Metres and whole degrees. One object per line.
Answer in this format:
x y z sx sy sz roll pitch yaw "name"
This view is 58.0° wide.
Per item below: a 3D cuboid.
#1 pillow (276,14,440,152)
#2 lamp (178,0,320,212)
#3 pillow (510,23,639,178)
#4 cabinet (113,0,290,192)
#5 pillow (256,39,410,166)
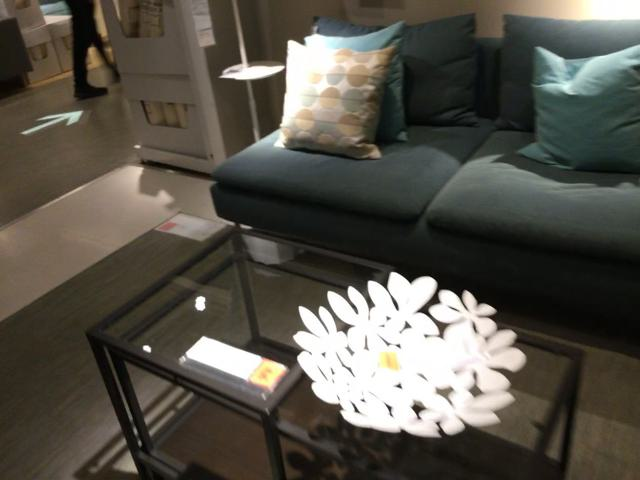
0.160 -0.660 2.360 0.540 0.430 0.340 16 35 33 "pillow"
-0.320 -0.890 2.630 0.330 1.420 0.460 16 35 33 "lamp"
0.920 -0.470 1.890 0.460 0.390 0.310 16 35 33 "pillow"
-0.610 -1.060 2.900 0.590 1.470 0.500 16 35 33 "cabinet"
0.060 -0.560 2.280 0.490 0.370 0.320 16 35 33 "pillow"
